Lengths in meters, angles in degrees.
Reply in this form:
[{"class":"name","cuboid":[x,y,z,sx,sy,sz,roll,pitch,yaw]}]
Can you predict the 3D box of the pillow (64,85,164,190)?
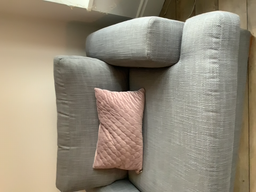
[{"class":"pillow","cuboid":[-0.070,0.250,1.400,0.570,0.350,0.160,-47,23,-20]}]
